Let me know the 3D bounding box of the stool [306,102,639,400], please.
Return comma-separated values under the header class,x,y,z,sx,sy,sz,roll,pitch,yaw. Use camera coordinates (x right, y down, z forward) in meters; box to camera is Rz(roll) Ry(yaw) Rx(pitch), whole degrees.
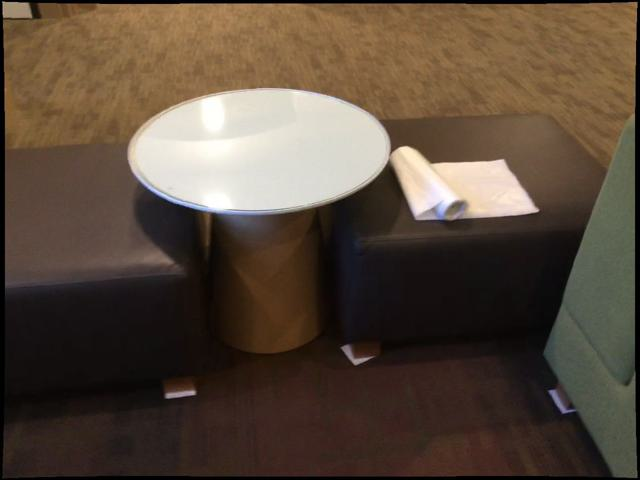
class,x,y,z,sx,sy,sz,roll,pitch,yaw
stool,0.399,-0.010,1.700,0.778,0.491,0.661,-6,38,-8
